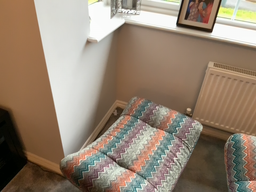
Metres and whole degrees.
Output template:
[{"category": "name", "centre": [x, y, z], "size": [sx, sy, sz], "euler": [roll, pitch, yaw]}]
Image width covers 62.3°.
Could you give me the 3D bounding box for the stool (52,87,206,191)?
[{"category": "stool", "centre": [0.040, 0.360, 1.190], "size": [0.490, 0.410, 0.670], "euler": [25, 42, 24]}]
